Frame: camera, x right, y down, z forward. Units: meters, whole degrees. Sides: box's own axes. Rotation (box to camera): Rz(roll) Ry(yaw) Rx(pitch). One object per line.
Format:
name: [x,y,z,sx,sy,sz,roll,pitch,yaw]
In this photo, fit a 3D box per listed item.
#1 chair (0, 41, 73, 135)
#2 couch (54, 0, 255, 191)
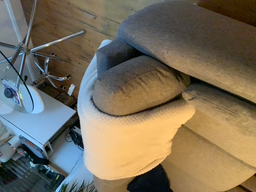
chair: [-1.140,-0.110,2.480,0.500,0.820,0.580,27,143,15]
couch: [0.350,0.510,1.640,0.990,0.920,2.240,26,143,16]
